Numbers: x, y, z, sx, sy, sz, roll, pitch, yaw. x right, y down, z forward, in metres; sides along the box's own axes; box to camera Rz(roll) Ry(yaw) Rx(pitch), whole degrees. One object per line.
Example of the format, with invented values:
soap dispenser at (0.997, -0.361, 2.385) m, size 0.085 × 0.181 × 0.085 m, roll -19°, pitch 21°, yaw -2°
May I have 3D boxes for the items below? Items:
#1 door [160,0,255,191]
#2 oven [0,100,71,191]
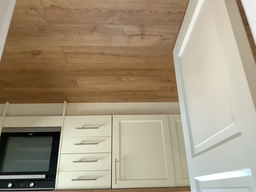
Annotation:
door at (0.350, 0.510, 0.730) m, size 0.110 × 2.250 × 0.990 m, roll -1°, pitch 157°, yaw -2°
oven at (-1.020, 0.580, 2.340) m, size 0.600 × 0.910 × 0.610 m, roll 0°, pitch 157°, yaw -4°
